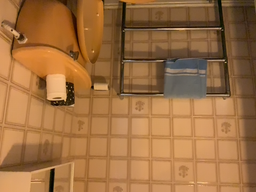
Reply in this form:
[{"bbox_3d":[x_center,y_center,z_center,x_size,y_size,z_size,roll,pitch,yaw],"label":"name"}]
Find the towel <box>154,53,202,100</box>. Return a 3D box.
[{"bbox_3d":[0.350,-0.140,1.530,0.310,0.320,0.100,0,168,0],"label":"towel"}]
